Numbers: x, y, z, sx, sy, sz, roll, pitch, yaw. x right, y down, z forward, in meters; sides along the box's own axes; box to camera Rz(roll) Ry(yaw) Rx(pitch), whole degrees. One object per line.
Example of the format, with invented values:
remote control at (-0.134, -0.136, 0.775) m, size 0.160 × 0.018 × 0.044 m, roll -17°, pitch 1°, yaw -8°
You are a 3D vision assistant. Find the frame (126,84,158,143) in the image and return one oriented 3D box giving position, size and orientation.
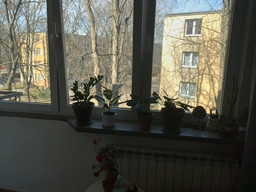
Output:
frame at (0.130, 0.140, 1.880) m, size 0.240 × 0.440 × 0.270 m, roll 4°, pitch 12°, yaw 7°

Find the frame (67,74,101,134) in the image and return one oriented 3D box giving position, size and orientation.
frame at (-0.390, 0.060, 1.920) m, size 0.240 × 0.480 × 0.250 m, roll 3°, pitch 12°, yaw 2°

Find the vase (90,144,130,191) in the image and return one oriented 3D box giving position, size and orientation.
vase at (-0.140, 0.610, 1.780) m, size 0.300 × 0.320 × 0.250 m, roll 3°, pitch 12°, yaw 1°

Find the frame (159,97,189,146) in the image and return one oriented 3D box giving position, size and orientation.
frame at (0.390, 0.210, 1.860) m, size 0.210 × 0.350 × 0.250 m, roll 4°, pitch 12°, yaw 7°
